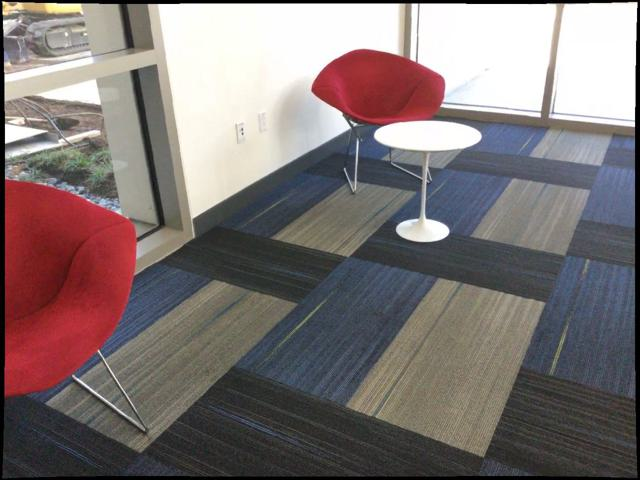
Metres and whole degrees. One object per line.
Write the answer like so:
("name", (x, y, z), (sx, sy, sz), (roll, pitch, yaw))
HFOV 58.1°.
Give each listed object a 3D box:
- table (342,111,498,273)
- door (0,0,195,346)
("table", (0.499, -0.271, 2.870), (0.559, 0.541, 0.590), (14, 31, 27))
("door", (-0.987, -0.802, 2.120), (0.170, 2.255, 0.950), (14, 31, 27))
